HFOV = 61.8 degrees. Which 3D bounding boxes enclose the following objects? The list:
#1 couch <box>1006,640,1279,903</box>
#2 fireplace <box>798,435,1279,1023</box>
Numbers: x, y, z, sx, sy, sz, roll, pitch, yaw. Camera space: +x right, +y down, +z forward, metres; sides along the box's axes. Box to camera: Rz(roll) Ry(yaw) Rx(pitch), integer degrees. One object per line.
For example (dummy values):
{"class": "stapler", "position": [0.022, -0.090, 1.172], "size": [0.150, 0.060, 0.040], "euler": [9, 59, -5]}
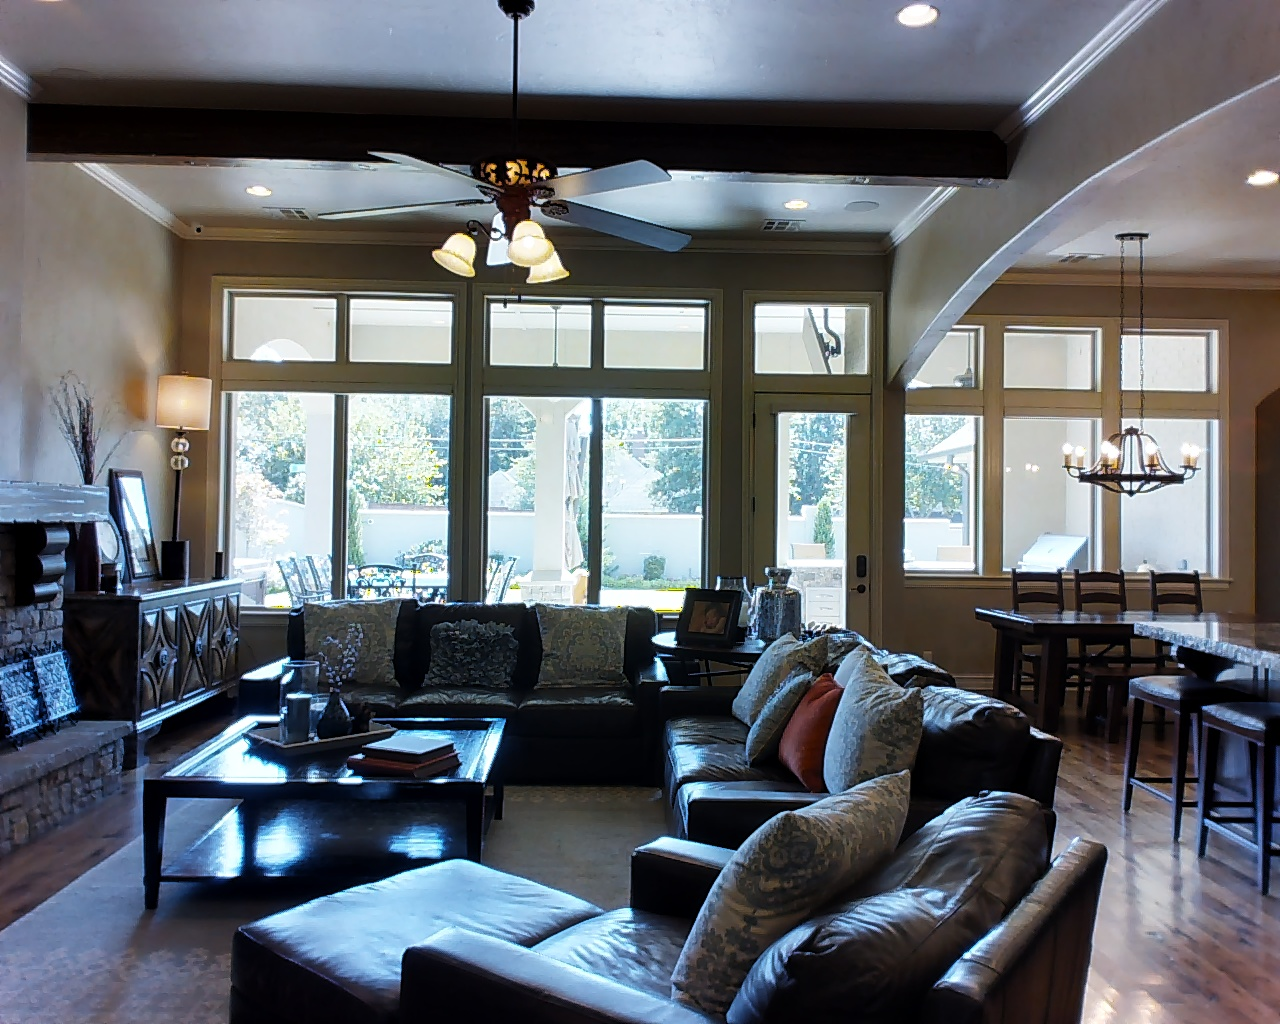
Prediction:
{"class": "couch", "position": [3.200, 1.130, 4.950], "size": [2.560, 0.920, 1.260], "euler": [1, -1, -2]}
{"class": "fireplace", "position": [1.110, 0.710, 3.060], "size": [0.820, 1.610, 2.710], "euler": [1, -1, -2]}
